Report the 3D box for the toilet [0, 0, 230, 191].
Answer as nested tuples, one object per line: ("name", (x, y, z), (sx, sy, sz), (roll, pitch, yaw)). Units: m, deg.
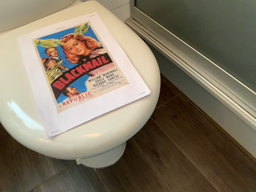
("toilet", (-0.170, -0.120, 0.560), (0.390, 0.780, 0.590), (-31, 58, -19))
